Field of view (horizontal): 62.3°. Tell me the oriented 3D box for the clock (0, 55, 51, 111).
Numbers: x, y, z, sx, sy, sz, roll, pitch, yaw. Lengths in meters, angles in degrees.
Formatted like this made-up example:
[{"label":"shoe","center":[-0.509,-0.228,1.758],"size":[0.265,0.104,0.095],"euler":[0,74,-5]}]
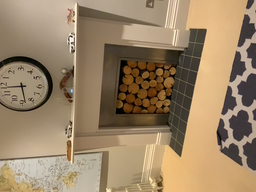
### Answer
[{"label":"clock","center":[-1.080,-0.120,2.130],"size":[0.070,0.580,0.550],"euler":[-136,49,-64]}]
